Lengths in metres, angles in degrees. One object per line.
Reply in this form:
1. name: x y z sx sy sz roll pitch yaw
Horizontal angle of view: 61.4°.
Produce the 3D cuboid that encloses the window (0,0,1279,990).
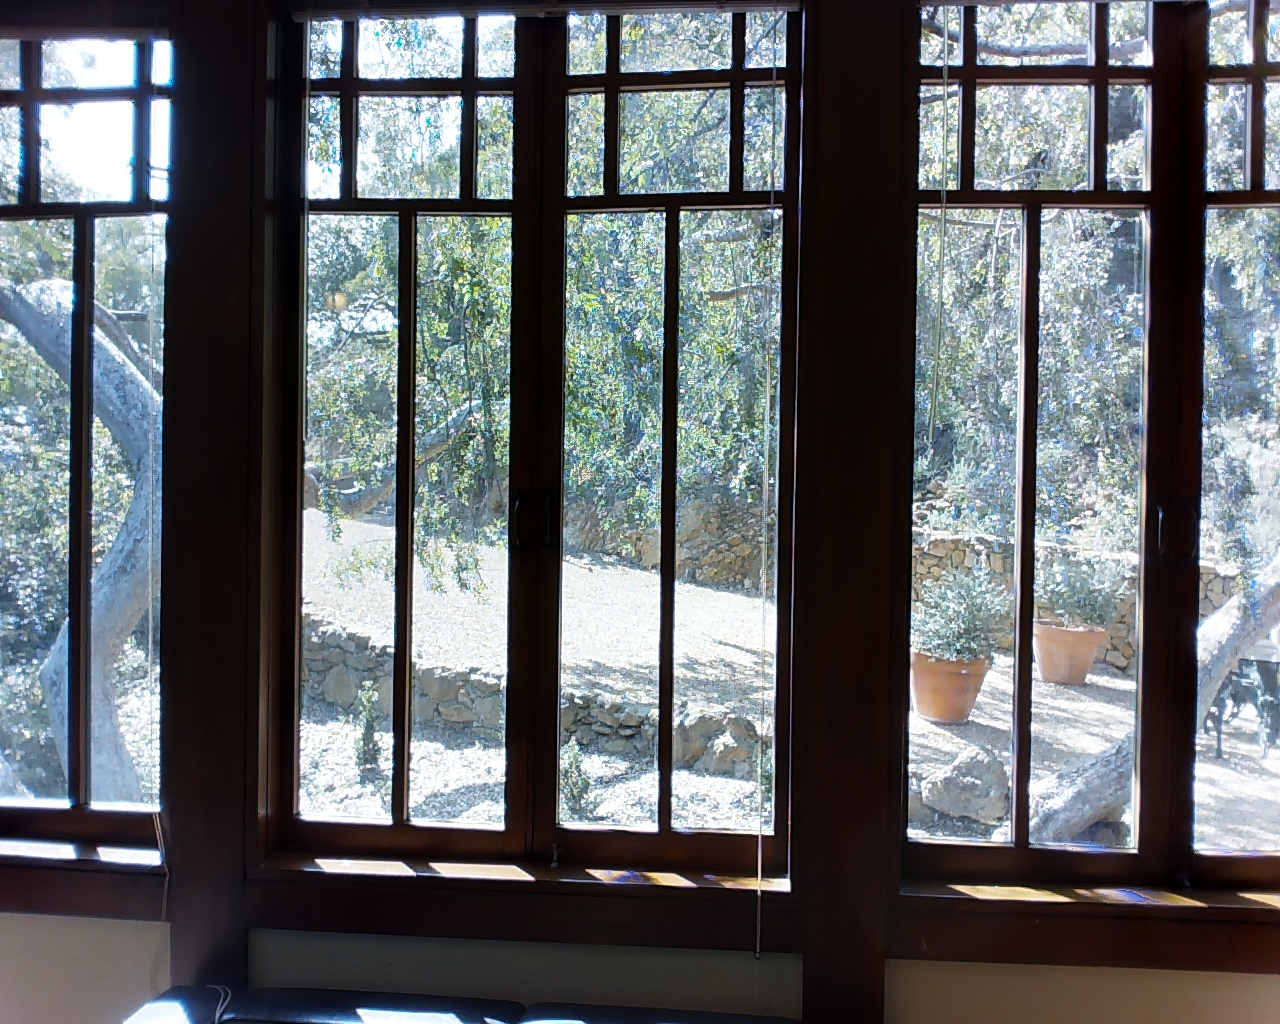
1. window: -1.420 -0.250 2.150 6.129 2.050 0.160 1 1 5
